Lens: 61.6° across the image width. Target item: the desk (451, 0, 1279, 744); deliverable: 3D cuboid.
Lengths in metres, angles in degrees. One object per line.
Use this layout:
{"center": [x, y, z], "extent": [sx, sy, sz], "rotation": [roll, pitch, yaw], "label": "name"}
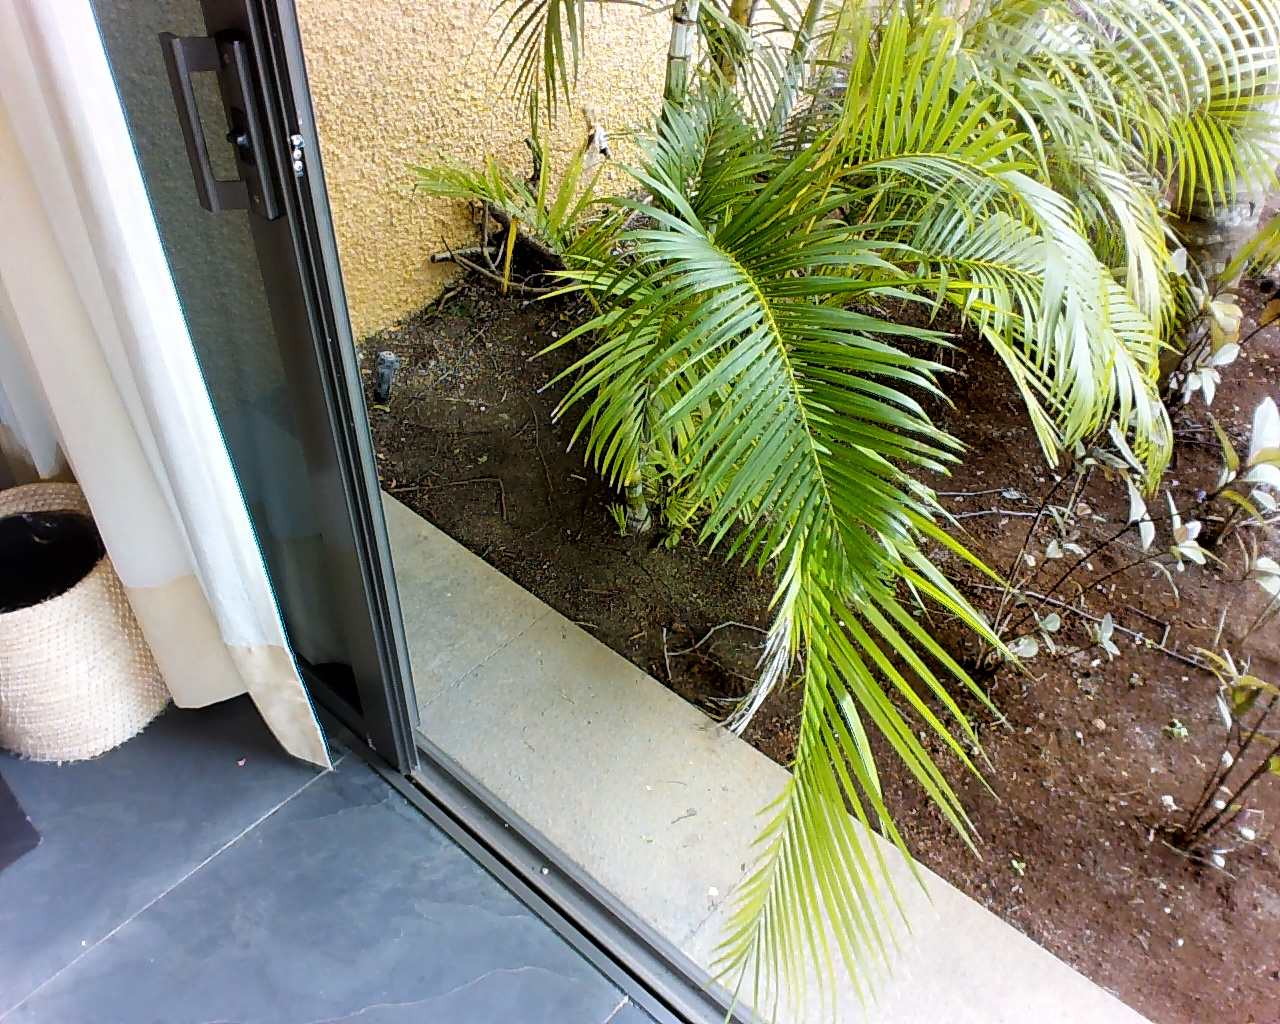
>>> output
{"center": [1.010, -0.430, 2.310], "extent": [3.170, 0.940, 0.860], "rotation": [32, 50, 29], "label": "desk"}
